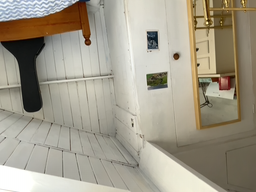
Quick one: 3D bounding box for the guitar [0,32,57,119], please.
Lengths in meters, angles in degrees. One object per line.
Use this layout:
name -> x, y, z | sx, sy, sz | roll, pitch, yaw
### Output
guitar -> -0.920, -0.190, 1.950 | 0.400, 0.700, 0.290 | -8, -173, -16

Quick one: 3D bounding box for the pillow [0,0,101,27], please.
pillow -> -0.630, -0.700, 1.500 | 0.780, 0.250, 0.530 | -8, -173, -15
